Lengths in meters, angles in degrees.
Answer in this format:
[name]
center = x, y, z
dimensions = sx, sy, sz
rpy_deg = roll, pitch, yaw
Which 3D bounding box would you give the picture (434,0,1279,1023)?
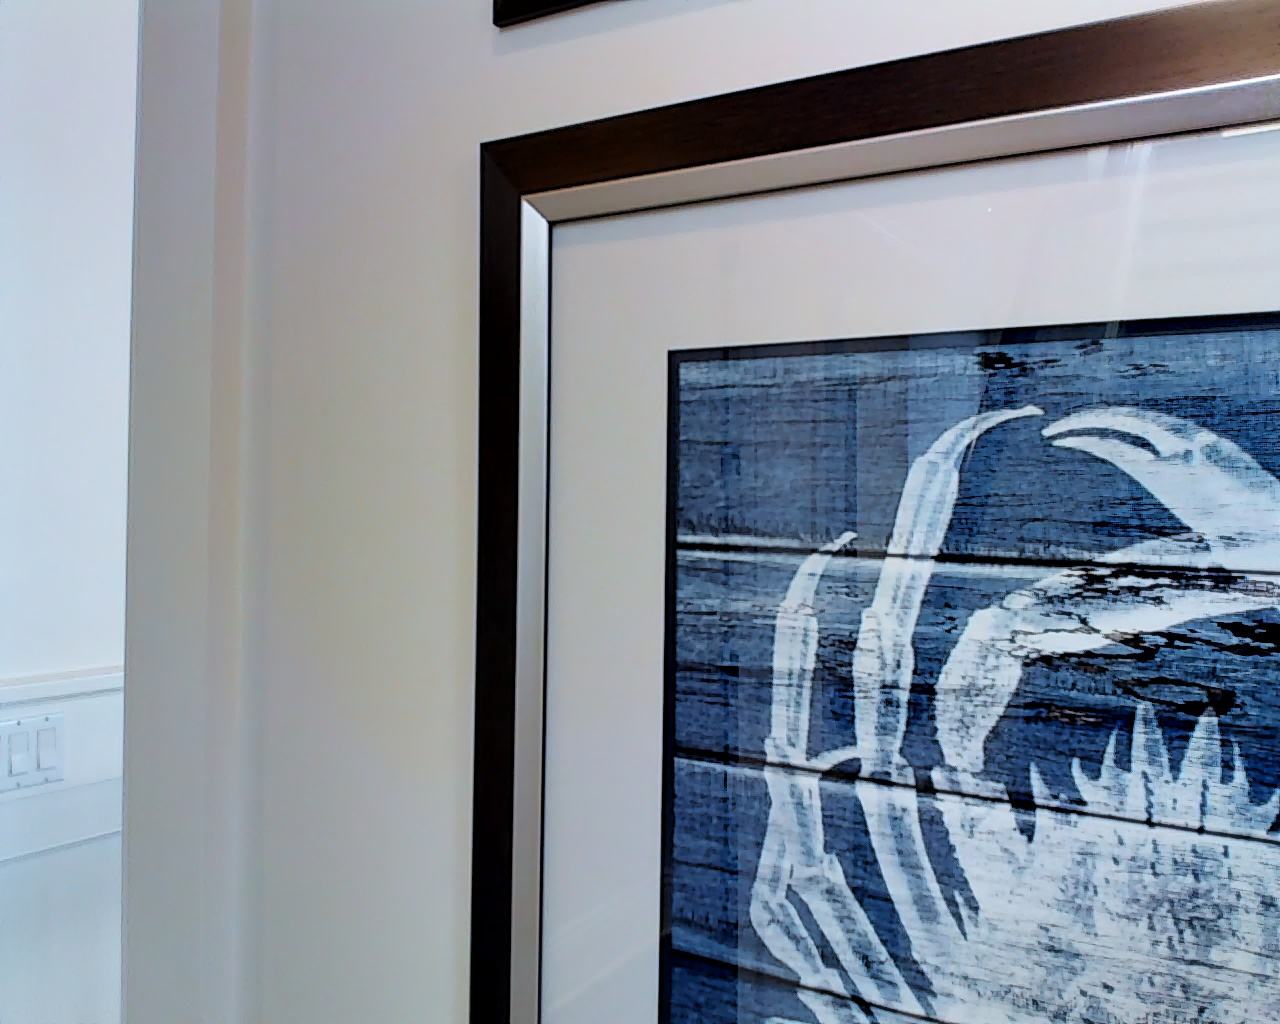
[picture]
center = 0.210, 0.170, 0.410
dimensions = 0.740, 0.750, 0.020
rpy_deg = 0, 0, 31
